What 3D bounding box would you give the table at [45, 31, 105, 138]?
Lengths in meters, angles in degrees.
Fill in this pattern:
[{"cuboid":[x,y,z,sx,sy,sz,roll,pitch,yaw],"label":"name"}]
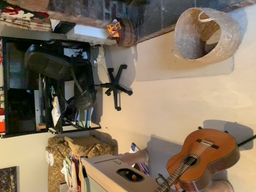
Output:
[{"cuboid":[-0.870,-0.180,3.430,0.720,0.730,1.480,8,99,56],"label":"table"}]
